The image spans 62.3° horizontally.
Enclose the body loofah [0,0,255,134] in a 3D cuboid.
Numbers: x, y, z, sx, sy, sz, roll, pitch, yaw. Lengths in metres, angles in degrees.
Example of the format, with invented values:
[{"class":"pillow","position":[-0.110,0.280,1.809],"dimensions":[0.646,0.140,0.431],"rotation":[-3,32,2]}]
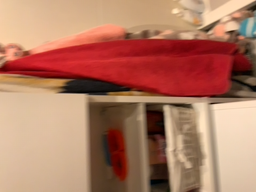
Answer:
[{"class":"body loofah","position":[0.070,-0.090,0.710],"dimensions":[0.290,0.870,0.220],"rotation":[60,139,42]}]
